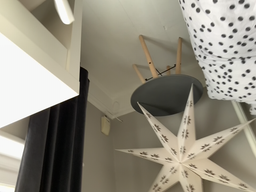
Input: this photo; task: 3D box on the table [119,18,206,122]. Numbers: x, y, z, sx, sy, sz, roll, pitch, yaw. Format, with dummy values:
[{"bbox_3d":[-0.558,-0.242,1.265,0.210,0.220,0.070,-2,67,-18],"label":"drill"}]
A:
[{"bbox_3d":[0.250,-0.150,1.510,0.390,0.420,0.510,-21,143,20],"label":"table"}]
